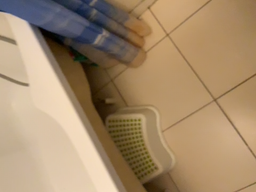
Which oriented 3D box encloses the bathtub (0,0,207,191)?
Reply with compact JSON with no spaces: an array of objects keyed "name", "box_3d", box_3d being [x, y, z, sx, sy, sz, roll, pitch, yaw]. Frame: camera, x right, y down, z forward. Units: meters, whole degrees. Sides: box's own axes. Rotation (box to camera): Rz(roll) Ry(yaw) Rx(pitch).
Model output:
[{"name":"bathtub","box_3d":[-0.230,0.300,0.800,0.710,0.560,1.420,-35,77,21]}]
